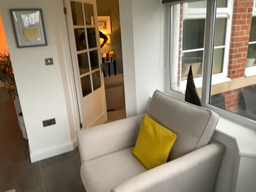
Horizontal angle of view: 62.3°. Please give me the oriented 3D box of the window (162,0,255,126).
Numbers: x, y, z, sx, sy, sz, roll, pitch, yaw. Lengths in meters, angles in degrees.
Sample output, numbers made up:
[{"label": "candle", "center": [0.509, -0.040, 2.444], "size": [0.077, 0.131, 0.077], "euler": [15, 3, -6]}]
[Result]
[{"label": "window", "center": [0.710, -0.390, 1.930], "size": [0.070, 0.990, 1.180], "euler": [-13, 21, -28]}]
